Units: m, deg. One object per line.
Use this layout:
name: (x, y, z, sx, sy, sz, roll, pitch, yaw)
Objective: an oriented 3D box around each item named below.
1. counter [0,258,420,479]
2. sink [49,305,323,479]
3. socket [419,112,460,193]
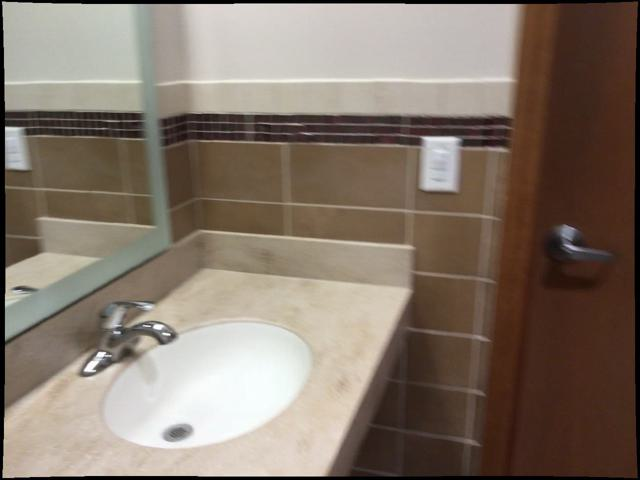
counter: (-0.340, 0.490, 0.640, 0.589, 0.240, 1.930, 4, 20, 18)
sink: (-0.210, 0.300, 1.080, 0.310, 0.160, 0.430, 4, 20, 18)
socket: (0.260, -0.190, 1.260, 0.080, 0.170, 0.030, 4, 20, 18)
